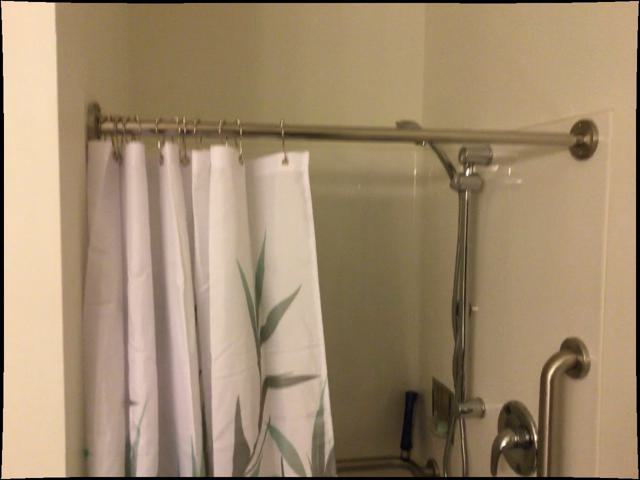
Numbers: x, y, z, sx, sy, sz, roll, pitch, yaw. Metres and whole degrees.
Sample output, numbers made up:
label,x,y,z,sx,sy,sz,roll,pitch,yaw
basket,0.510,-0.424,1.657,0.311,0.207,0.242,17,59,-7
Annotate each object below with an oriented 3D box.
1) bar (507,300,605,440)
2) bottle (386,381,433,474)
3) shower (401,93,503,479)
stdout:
label,x,y,z,sx,sy,sz,roll,pitch,yaw
bar,0.469,0.251,1.160,0.080,0.221,0.190,-5,5,-13
bottle,0.289,0.601,1.870,0.090,0.241,0.140,-5,5,-14
shower,0.379,0.160,1.690,0.110,1.103,0.330,-5,5,-13
